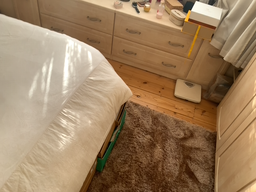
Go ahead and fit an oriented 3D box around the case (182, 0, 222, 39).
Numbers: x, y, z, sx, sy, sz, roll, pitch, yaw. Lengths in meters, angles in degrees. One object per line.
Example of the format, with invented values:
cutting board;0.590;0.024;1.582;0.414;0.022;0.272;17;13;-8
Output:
case;0.620;-0.650;1.780;0.260;0.160;0.260;18;47;5
